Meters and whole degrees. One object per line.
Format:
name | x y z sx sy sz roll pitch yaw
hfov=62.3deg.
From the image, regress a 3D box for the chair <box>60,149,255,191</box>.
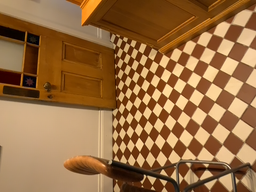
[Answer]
chair | 0.220 0.520 1.040 0.430 0.980 0.490 -19 67 51
